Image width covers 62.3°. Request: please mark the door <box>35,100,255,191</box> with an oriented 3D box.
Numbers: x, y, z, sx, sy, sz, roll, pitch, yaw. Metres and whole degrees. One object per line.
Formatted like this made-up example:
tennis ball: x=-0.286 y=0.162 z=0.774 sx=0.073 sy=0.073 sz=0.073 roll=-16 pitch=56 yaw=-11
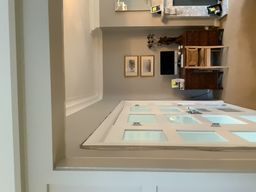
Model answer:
door: x=0.680 y=0.260 z=2.860 sx=3.840 sy=2.100 sz=0.130 roll=-63 pitch=-28 yaw=-86
